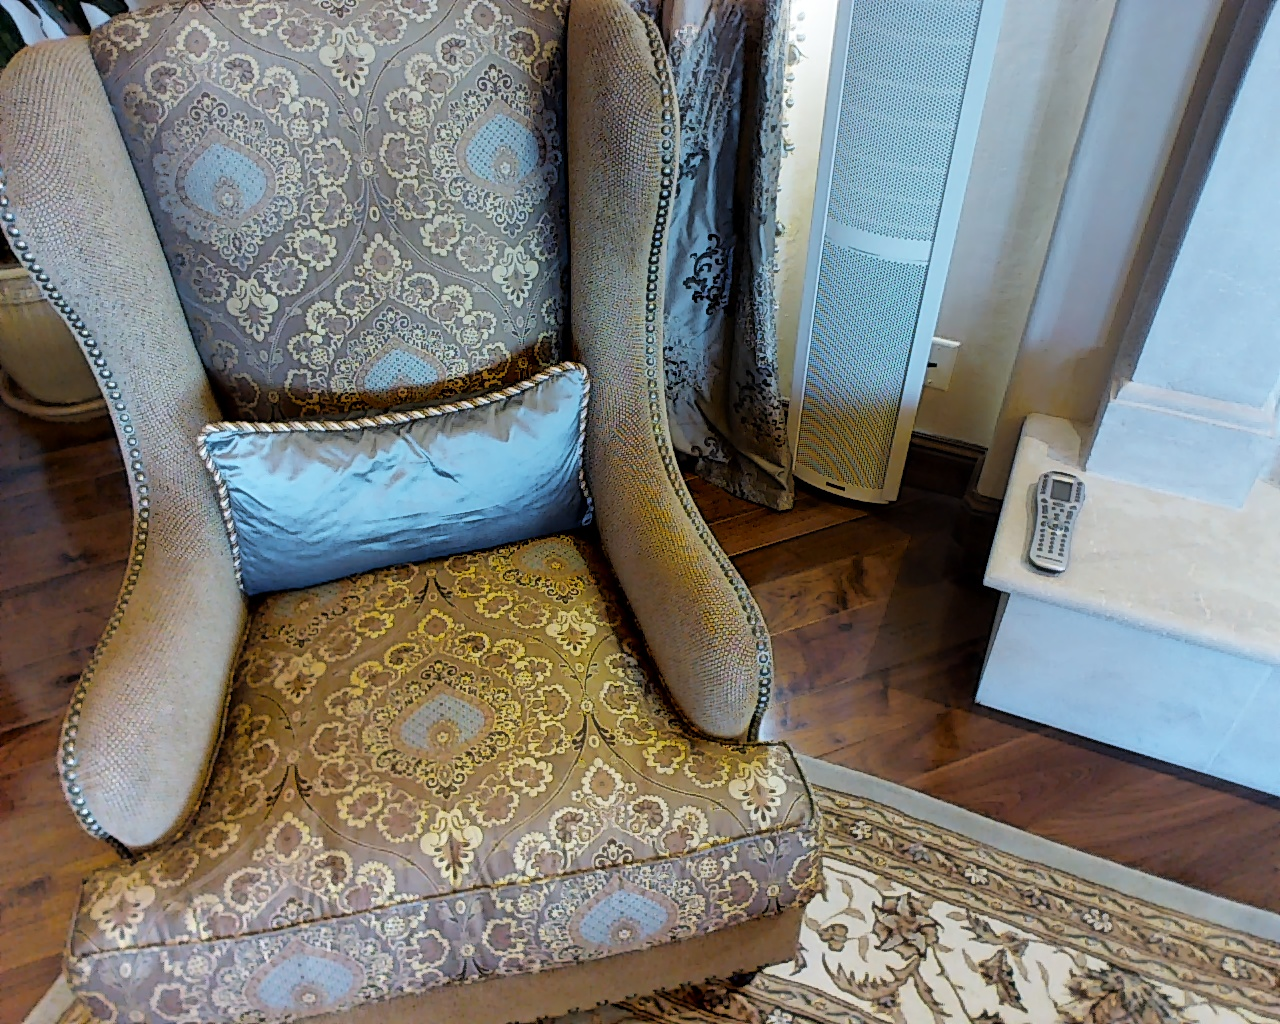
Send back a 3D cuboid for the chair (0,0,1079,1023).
[{"bbox_3d":[-0.270,0.080,1.430,0.940,1.170,1.050,-9,43,-9],"label":"chair"}]
